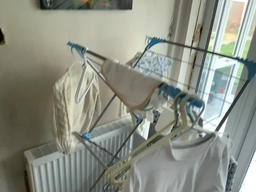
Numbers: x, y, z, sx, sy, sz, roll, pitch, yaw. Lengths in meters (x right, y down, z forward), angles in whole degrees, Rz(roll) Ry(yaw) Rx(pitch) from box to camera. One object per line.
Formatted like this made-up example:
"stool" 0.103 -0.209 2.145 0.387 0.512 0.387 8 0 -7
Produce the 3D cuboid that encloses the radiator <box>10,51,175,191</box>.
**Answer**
"radiator" -0.160 0.310 1.370 0.900 1.110 0.150 -13 30 -33
